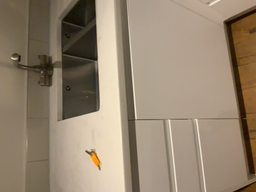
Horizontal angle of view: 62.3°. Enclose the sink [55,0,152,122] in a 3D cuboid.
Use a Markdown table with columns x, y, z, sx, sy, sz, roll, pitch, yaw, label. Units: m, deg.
| x | y | z | sx | sy | sz | roll | pitch | yaw | label |
| --- | --- | --- | --- | --- | --- | --- | --- | --- | --- |
| -0.140 | -0.160 | 0.990 | 0.380 | 0.270 | 0.520 | -16 | 74 | 50 | sink |
